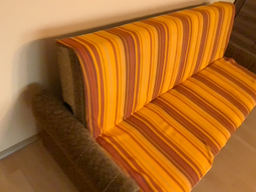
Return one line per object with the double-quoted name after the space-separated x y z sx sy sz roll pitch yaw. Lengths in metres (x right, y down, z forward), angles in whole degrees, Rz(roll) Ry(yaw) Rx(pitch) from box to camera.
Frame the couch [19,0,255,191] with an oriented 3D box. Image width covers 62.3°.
0.500 -0.110 1.740 1.010 0.940 2.180 41 46 23 "couch"
